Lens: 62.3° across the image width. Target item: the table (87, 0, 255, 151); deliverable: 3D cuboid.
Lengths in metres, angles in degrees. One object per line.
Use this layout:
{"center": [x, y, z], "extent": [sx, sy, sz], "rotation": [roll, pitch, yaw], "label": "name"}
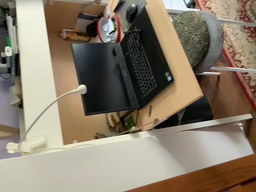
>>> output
{"center": [0.280, -0.210, 1.360], "extent": [0.730, 0.740, 0.830], "rotation": [-45, 54, 50], "label": "table"}
